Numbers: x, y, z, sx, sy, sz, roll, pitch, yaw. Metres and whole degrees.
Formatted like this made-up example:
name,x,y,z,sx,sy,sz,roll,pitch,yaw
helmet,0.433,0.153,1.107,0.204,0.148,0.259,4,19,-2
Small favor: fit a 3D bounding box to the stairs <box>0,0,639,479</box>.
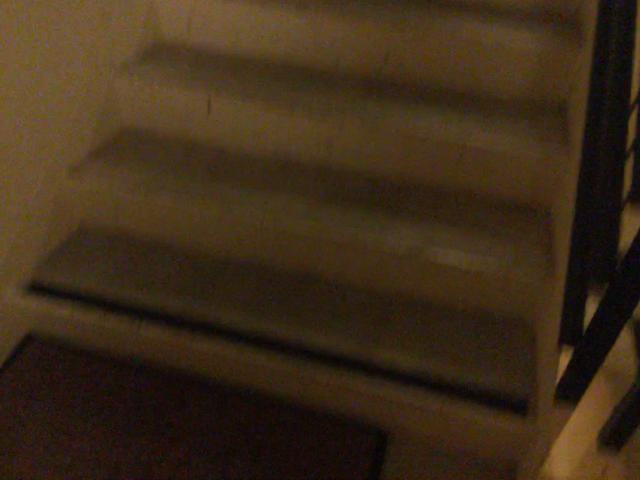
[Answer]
name,x,y,z,sx,sy,sz,roll,pitch,yaw
stairs,0.100,-0.740,1.680,1.310,1.150,2.160,9,43,12
